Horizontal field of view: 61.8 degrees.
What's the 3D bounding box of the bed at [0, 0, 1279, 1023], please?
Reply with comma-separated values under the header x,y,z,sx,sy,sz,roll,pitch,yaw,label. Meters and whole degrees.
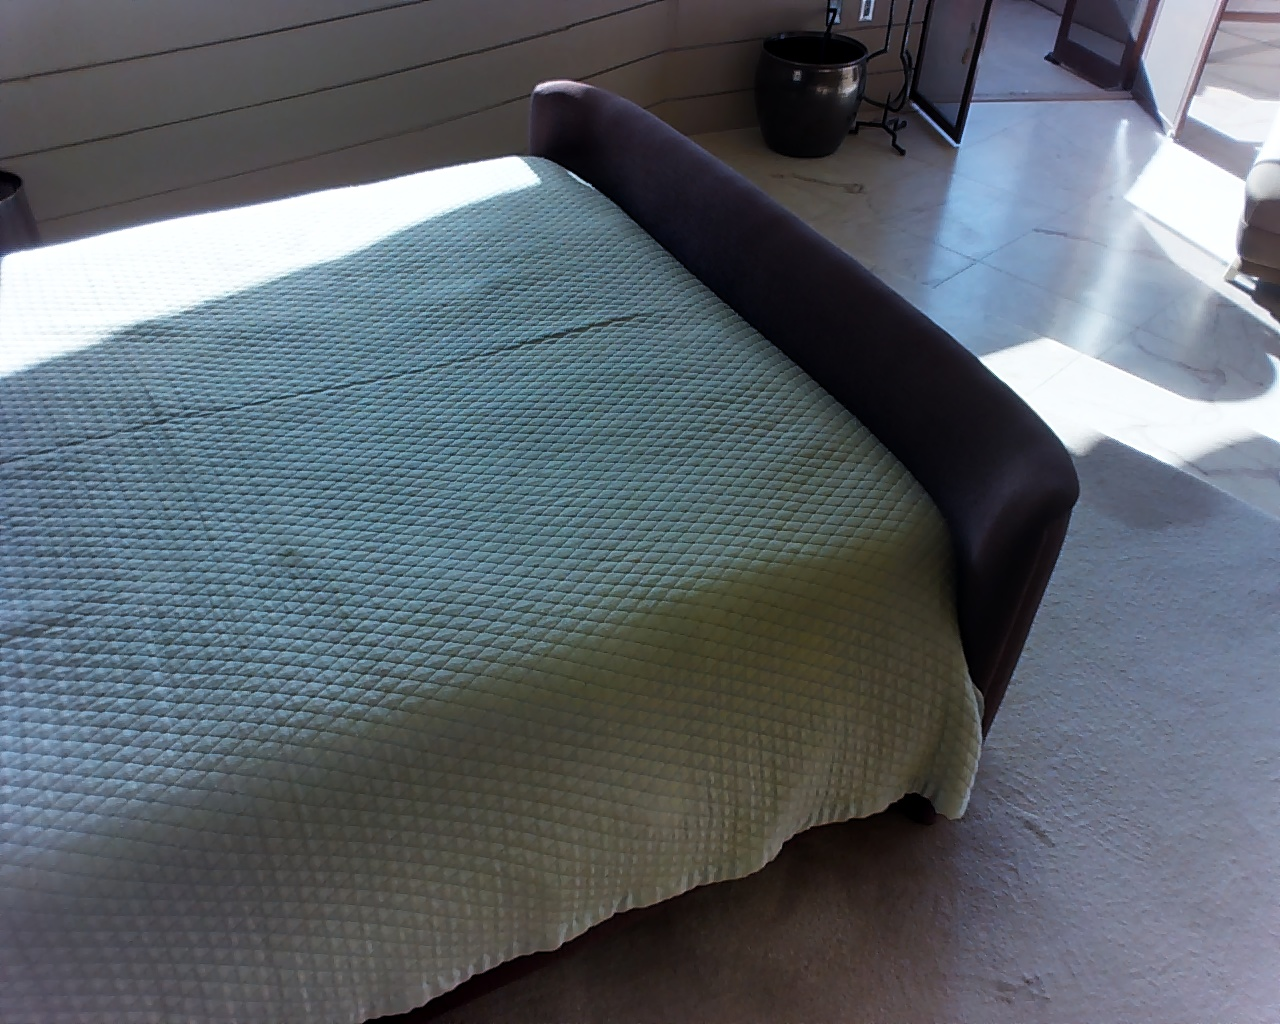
x,y,z,sx,sy,sz,roll,pitch,yaw,label
-0.740,-0.120,1.740,2.620,1.130,1.980,-19,45,-22,bed
